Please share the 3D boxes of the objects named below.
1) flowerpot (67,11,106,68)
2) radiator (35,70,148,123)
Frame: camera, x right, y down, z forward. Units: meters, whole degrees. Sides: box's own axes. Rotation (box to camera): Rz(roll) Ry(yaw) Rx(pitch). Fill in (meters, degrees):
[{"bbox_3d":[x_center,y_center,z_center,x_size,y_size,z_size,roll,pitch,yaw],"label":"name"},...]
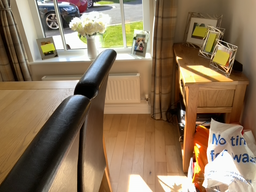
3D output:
[{"bbox_3d":[-0.400,-0.580,2.170,0.250,0.490,0.310,-1,29,5],"label":"flowerpot"},{"bbox_3d":[-0.360,0.010,2.280,1.130,0.550,0.150,0,29,8],"label":"radiator"}]
